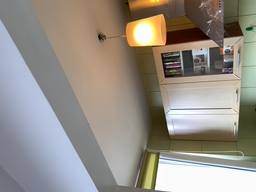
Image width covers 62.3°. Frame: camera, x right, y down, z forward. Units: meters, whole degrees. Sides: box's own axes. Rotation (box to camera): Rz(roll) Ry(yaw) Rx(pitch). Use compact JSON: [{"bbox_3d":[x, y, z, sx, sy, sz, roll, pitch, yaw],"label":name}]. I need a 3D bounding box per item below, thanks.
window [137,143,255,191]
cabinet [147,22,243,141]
[{"bbox_3d":[0.780,0.850,2.020,0.810,1.320,0.180,-68,-31,-48],"label":"window"},{"bbox_3d":[0.700,-0.070,2.200,0.320,0.760,1.190,-67,-31,-49],"label":"cabinet"}]
